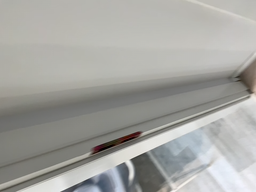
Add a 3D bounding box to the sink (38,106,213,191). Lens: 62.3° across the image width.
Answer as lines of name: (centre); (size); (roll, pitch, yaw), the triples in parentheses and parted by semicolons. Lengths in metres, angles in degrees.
sink: (-0.070, 0.670, 1.590); (0.540, 0.940, 0.950); (50, 129, 28)
